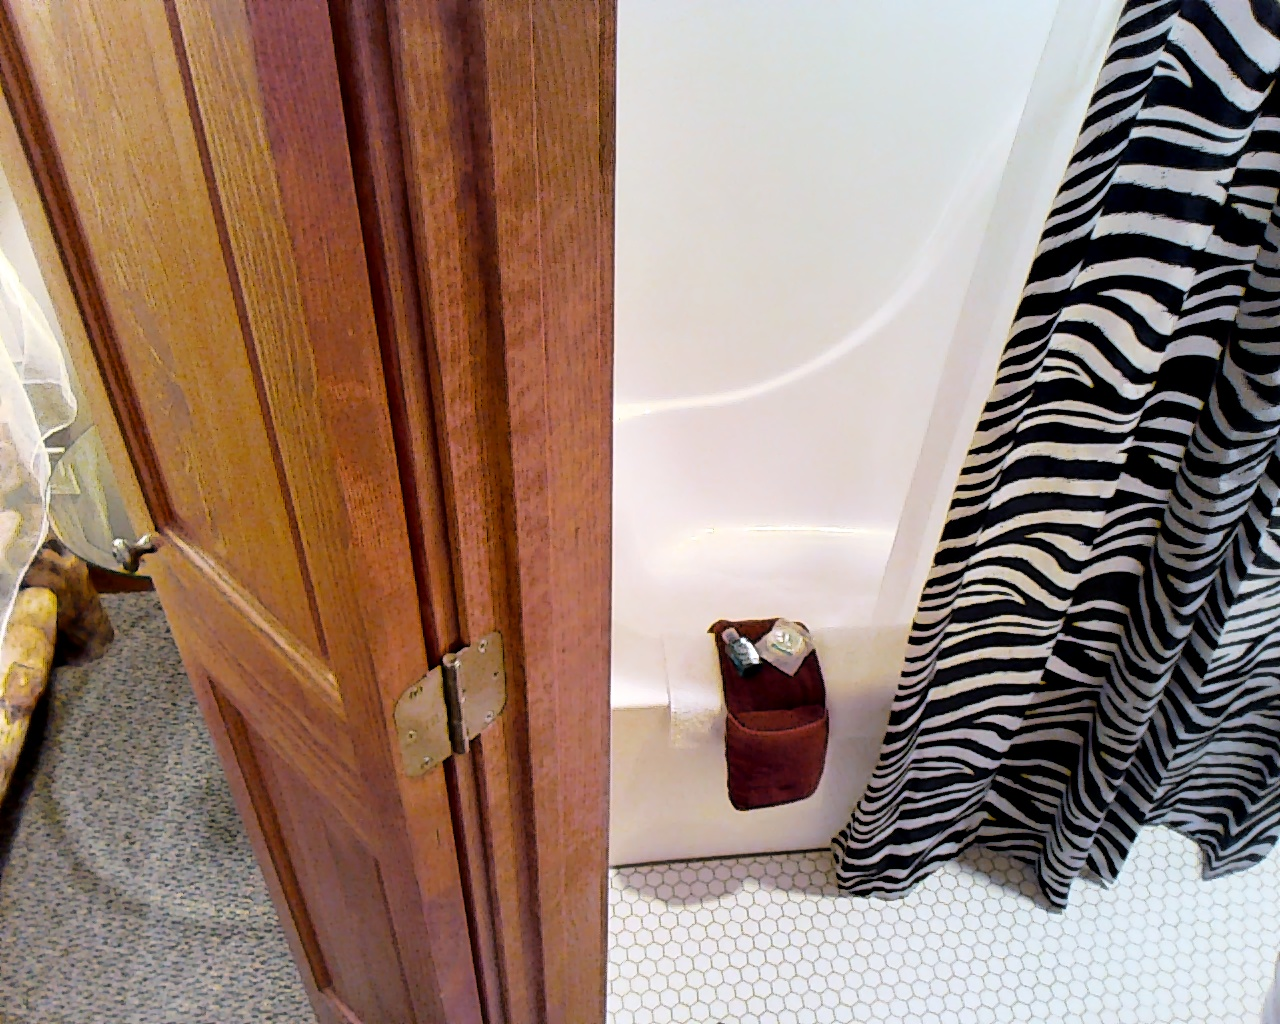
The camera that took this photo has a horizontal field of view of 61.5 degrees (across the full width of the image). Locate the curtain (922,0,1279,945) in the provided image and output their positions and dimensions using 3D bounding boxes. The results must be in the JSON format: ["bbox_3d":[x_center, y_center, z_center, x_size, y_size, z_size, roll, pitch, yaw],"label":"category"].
[{"bbox_3d":[0.820,-0.110,1.170,0.640,1.860,0.180,-3,40,-5],"label":"curtain"}]
